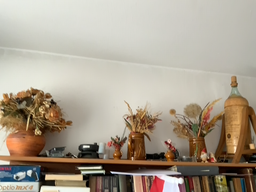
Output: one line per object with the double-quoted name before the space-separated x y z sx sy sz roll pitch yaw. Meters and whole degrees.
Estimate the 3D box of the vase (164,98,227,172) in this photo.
"vase" 0.350 0.220 1.160 0.210 0.350 0.210 5 -25 -12

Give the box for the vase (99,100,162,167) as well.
"vase" 0.010 0.190 1.070 0.280 0.300 0.170 0 -24 0

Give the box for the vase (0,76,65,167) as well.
"vase" -0.480 0.120 0.940 0.330 0.350 0.210 3 -24 -8
